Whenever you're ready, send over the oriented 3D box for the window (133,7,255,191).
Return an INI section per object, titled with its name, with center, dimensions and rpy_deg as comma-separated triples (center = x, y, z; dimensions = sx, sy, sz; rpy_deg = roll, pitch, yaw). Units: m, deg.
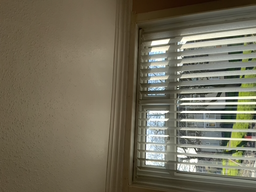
[window]
center = 0.920, 0.010, 2.000
dimensions = 0.230, 1.710, 1.610
rpy_deg = 26, -115, -67
